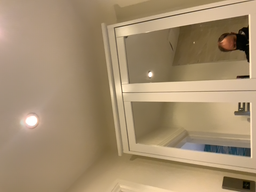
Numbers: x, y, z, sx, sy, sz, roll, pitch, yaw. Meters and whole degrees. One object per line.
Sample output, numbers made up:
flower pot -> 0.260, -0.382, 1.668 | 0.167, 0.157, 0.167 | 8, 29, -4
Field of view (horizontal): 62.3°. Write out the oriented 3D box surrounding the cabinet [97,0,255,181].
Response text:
cabinet -> 0.340, -0.020, 1.120 | 0.130, 1.020, 0.830 | -24, -69, -58
